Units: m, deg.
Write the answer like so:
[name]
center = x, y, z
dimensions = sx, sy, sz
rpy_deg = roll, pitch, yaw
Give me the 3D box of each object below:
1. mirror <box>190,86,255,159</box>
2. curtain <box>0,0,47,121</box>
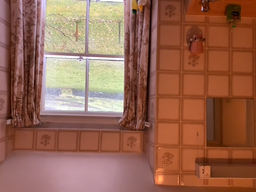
[mirror]
center = 0.570, 0.150, 1.290
dimensions = 0.340, 0.410, 0.150
rpy_deg = 1, 179, 2
[curtain]
center = -0.750, -0.390, 1.520
dimensions = 0.250, 1.110, 0.200
rpy_deg = 1, 179, -3
